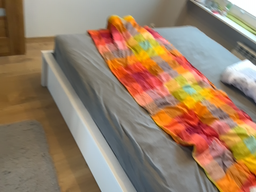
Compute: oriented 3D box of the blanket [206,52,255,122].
[{"bbox_3d":[1.190,0.000,1.770,0.550,0.230,0.870,-16,52,-35],"label":"blanket"}]
